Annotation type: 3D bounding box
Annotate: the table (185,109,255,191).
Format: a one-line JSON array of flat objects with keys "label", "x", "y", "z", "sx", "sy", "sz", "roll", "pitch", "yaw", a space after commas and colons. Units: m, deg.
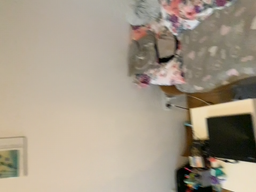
[{"label": "table", "x": 0.790, "y": 0.390, "z": 1.510, "sx": 0.540, "sy": 0.450, "sz": 0.530, "roll": 149, "pitch": 118, "yaw": -66}]
